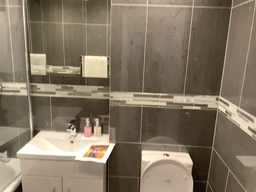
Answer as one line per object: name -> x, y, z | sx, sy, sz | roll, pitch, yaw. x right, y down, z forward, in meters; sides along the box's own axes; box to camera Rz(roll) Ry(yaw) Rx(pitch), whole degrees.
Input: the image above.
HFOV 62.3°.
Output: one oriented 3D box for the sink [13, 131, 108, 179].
sink -> -0.490, 0.450, 1.680 | 0.620, 0.170, 0.390 | 3, 13, 0
